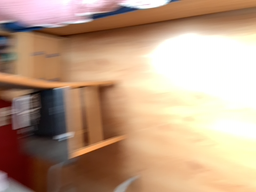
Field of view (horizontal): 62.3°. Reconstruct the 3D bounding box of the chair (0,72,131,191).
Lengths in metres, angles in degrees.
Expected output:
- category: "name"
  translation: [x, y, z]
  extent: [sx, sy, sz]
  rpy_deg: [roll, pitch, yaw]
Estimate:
- category: "chair"
  translation: [-0.420, 0.120, 1.280]
  extent: [0.530, 0.810, 0.490]
  rpy_deg: [3, 95, 33]
